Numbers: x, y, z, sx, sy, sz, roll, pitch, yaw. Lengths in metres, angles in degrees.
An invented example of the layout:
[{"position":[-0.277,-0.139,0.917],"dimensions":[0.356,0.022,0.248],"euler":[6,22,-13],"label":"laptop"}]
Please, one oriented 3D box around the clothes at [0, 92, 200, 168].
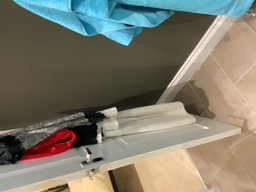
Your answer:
[{"position":[-0.240,0.160,1.310],"dimensions":[0.360,1.490,0.180],"euler":[13,108,62],"label":"clothes"}]
